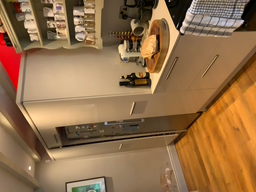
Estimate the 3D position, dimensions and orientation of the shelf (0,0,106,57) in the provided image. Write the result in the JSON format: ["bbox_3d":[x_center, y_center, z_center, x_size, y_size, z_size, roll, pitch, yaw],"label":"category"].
[{"bbox_3d":[-0.650,-0.670,1.960,0.700,0.840,0.160,105,157,-57],"label":"shelf"}]
